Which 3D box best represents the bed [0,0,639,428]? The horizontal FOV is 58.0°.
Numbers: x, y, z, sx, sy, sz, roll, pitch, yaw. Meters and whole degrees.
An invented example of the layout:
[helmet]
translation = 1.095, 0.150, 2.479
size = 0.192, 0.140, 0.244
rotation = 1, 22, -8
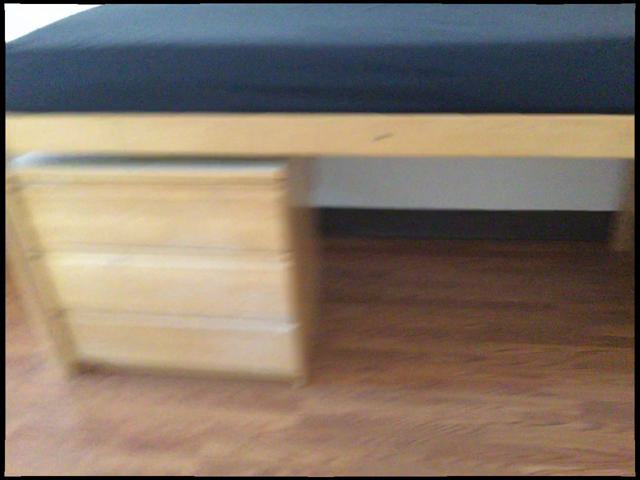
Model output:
[bed]
translation = 0.230, -0.240, 1.980
size = 2.266, 1.072, 1.131
rotation = 3, 33, 9
